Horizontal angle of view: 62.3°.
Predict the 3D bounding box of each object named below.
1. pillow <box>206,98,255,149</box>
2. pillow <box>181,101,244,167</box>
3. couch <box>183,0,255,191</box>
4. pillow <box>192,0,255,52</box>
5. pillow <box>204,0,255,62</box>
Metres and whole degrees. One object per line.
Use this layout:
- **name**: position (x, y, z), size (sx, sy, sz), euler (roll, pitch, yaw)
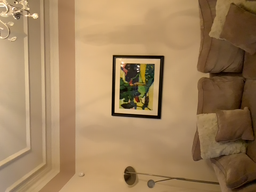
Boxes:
- **pillow**: position (1.020, 0.270, 2.110), size (0.350, 0.360, 0.090), euler (-56, -2, -19)
- **pillow**: position (0.910, 0.400, 2.280), size (0.500, 0.460, 0.150), euler (-47, 1, -20)
- **couch**: position (1.200, -0.160, 2.240), size (1.160, 0.950, 2.300), euler (-34, -53, -78)
- **pillow**: position (0.990, -0.790, 2.070), size (0.500, 0.490, 0.140), euler (-37, 5, 17)
- **pillow**: position (1.030, -0.600, 1.980), size (0.120, 0.410, 0.430), euler (-53, 0, -33)
